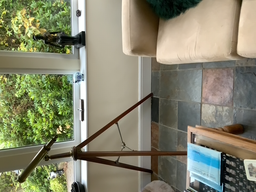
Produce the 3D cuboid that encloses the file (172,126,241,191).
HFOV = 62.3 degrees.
[{"bbox_3d":[0.480,0.410,1.360,0.360,0.170,0.320,21,110,59],"label":"file"}]

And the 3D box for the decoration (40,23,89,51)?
[{"bbox_3d":[-0.700,-0.620,2.300,0.450,0.420,0.210,18,108,59],"label":"decoration"}]
